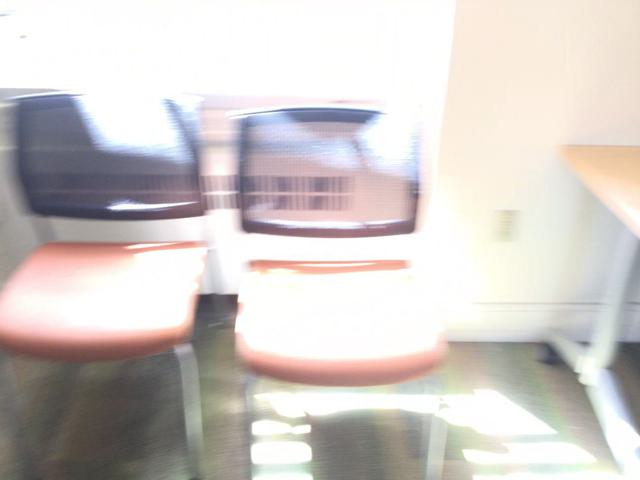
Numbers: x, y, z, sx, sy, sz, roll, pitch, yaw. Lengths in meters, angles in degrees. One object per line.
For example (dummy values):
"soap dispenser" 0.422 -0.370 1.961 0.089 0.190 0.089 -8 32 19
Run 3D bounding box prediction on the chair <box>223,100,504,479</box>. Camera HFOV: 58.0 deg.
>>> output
"chair" 0.030 0.140 1.450 0.490 0.810 0.620 2 27 -6
